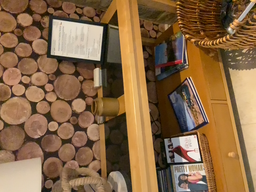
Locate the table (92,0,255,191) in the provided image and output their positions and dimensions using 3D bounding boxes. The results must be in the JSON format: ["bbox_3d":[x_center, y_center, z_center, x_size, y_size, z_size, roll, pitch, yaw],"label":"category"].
[{"bbox_3d":[0.240,0.090,1.310,0.490,0.760,1.220,-30,61,58],"label":"table"}]

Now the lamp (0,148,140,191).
[{"bbox_3d":[-0.310,0.440,0.880,0.390,0.610,0.370,-31,60,58],"label":"lamp"}]
